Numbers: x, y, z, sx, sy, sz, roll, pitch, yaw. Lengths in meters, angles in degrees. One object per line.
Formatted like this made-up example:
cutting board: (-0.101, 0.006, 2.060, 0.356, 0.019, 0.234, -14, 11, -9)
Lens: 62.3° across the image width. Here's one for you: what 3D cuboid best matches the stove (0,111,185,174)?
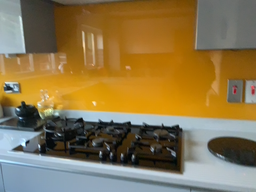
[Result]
stove: (-0.190, 0.230, 1.320, 1.050, 0.060, 0.600, 2, 12, 15)
